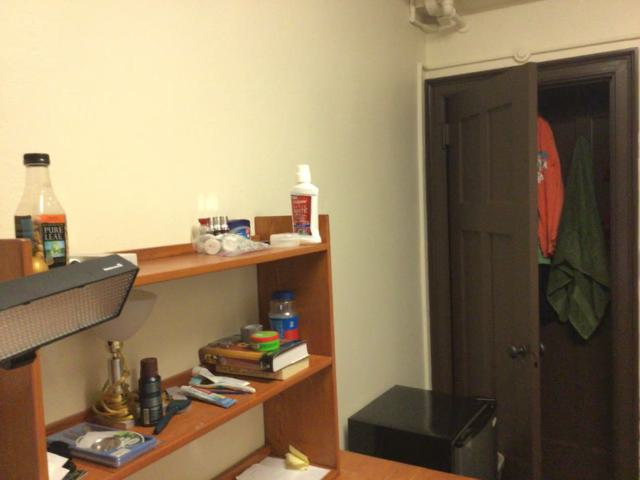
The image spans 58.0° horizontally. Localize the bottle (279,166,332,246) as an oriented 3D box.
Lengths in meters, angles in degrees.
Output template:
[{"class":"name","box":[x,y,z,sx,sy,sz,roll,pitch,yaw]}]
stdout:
[{"class":"bottle","box":[-0.040,-0.090,1.570,0.120,0.210,0.060,0,4,30]}]
